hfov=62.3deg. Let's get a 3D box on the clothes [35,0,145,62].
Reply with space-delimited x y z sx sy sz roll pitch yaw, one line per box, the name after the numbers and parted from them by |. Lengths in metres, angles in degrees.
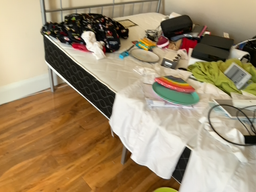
-0.230 -0.530 1.600 0.570 0.130 0.670 16 37 8 | clothes
